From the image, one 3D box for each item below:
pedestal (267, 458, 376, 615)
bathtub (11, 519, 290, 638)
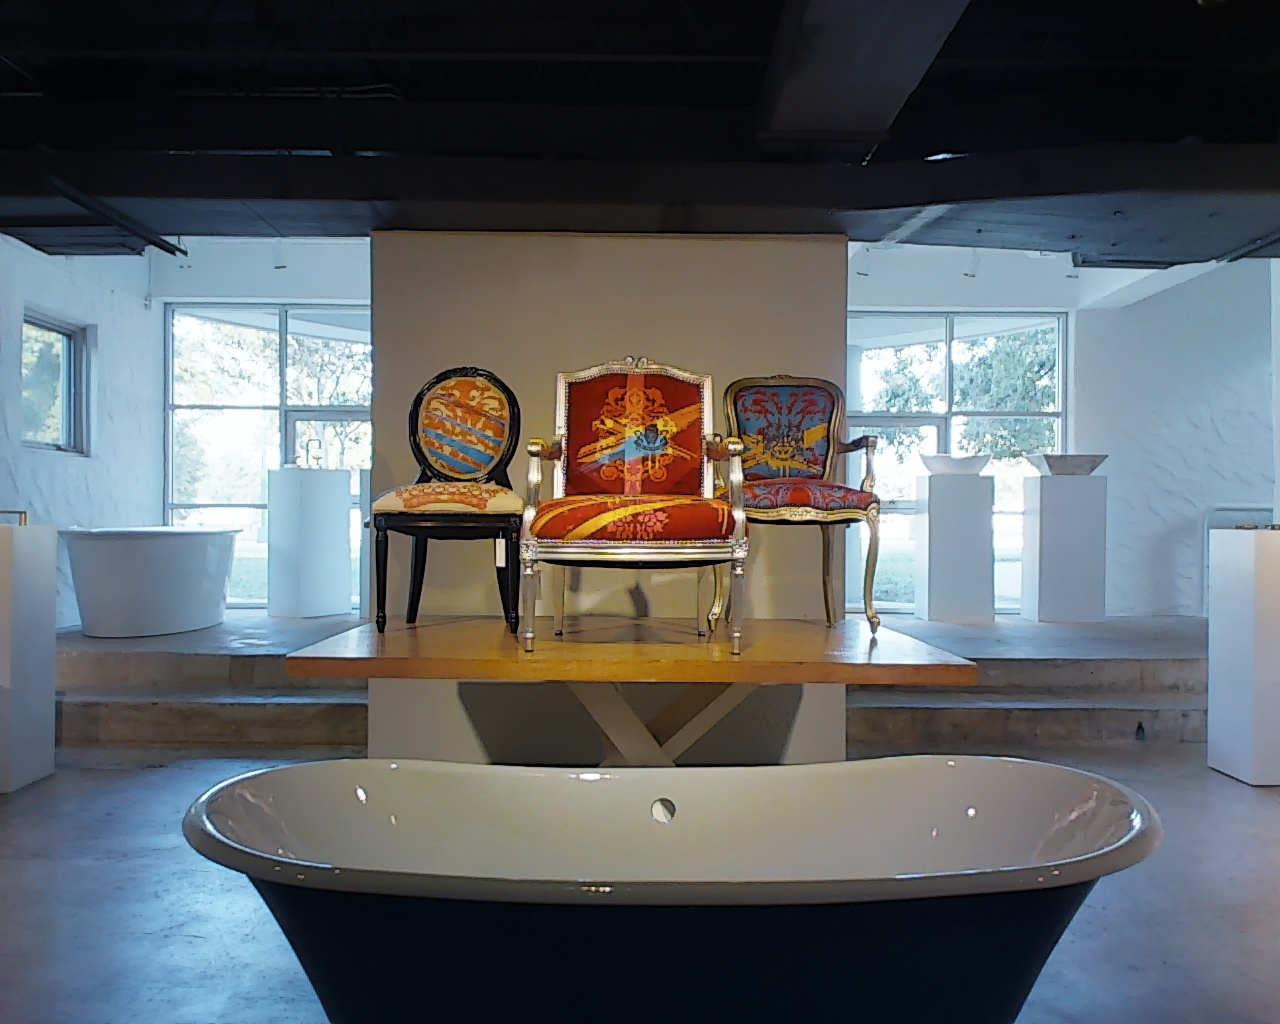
[{"bbox_3d":[-2.350,0.170,7.940,0.460,1.100,0.620,1,0,30],"label":"pedestal"},{"bbox_3d":[-3.100,0.390,7.050,1.030,0.650,1.790,1,0,-1],"label":"bathtub"}]
